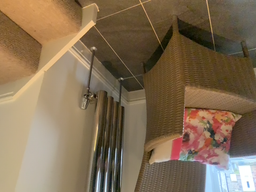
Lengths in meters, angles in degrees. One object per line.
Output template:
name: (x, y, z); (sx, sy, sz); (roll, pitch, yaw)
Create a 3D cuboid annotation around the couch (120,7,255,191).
couch: (0.370, 0.110, 1.240); (0.620, 0.850, 0.610); (12, 151, -18)
